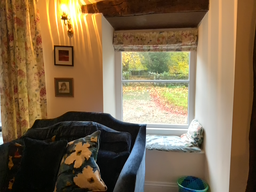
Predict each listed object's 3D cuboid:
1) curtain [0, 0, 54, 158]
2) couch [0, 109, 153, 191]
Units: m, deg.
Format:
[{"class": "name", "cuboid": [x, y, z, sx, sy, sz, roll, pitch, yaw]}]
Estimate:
[{"class": "curtain", "cuboid": [-1.080, -0.300, 2.210, 0.460, 1.840, 0.210, 2, 7, 16]}, {"class": "couch", "cuboid": [-0.470, 0.660, 1.720, 1.200, 0.870, 1.100, 1, 7, 14]}]
